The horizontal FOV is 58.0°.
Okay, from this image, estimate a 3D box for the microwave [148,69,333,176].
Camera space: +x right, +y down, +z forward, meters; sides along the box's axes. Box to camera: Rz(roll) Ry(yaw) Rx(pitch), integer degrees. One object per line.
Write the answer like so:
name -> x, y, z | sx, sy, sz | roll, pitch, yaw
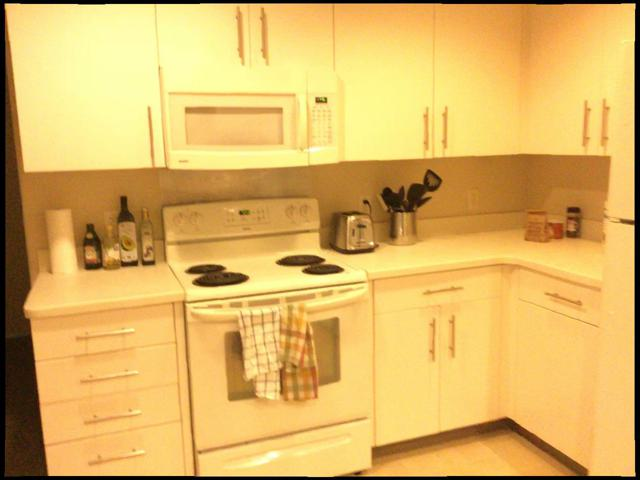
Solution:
microwave -> -0.349, -0.521, 2.550 | 0.729, 0.411, 0.370 | -5, 13, -21
